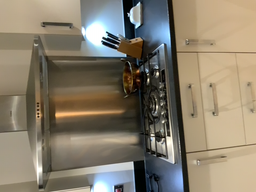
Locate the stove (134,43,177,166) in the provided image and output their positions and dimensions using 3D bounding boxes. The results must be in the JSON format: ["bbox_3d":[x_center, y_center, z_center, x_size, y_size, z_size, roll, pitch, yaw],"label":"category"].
[{"bbox_3d":[0.170,0.070,1.530,0.560,0.030,0.730,159,107,-73],"label":"stove"}]
